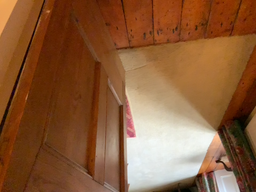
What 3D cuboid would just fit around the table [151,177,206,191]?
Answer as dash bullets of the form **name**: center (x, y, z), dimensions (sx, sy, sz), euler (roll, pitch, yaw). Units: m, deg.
- **table**: center (1.100, 2.210, 4.750), dimensions (0.670, 0.460, 1.080), euler (12, 143, -21)
